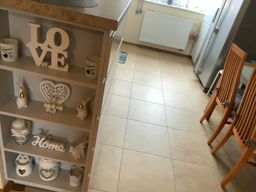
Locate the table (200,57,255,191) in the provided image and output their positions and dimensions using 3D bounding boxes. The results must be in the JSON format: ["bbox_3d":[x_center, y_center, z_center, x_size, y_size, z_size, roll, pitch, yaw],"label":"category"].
[{"bbox_3d":[1.370,0.360,1.910,0.880,0.760,1.530,13,30,-1],"label":"table"}]
